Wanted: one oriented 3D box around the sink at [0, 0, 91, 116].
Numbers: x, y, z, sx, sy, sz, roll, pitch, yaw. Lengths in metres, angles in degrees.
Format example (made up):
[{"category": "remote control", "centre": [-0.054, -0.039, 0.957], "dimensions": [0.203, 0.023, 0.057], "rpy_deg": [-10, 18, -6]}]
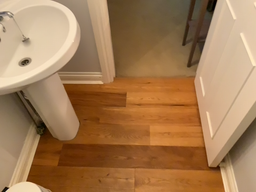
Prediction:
[{"category": "sink", "centre": [-0.440, -0.220, 0.920], "dimensions": [0.450, 0.210, 0.590], "rpy_deg": [0, 53, 2]}]
